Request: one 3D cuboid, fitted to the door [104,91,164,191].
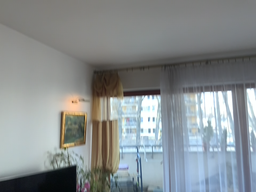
[{"bbox_3d":[0.100,1.070,4.230,1.160,2.270,0.210,-2,-7,15],"label":"door"}]
